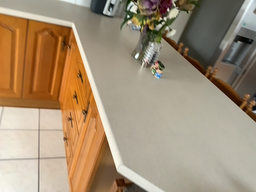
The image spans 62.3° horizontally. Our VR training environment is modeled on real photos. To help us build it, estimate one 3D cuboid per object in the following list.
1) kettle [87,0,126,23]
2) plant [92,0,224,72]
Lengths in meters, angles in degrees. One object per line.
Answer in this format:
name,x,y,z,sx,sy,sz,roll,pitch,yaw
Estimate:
kettle,-0.200,-0.930,2.060,0.300,0.310,0.200,7,33,-24
plant,0.150,-0.540,1.400,0.510,0.520,0.560,0,36,-32
